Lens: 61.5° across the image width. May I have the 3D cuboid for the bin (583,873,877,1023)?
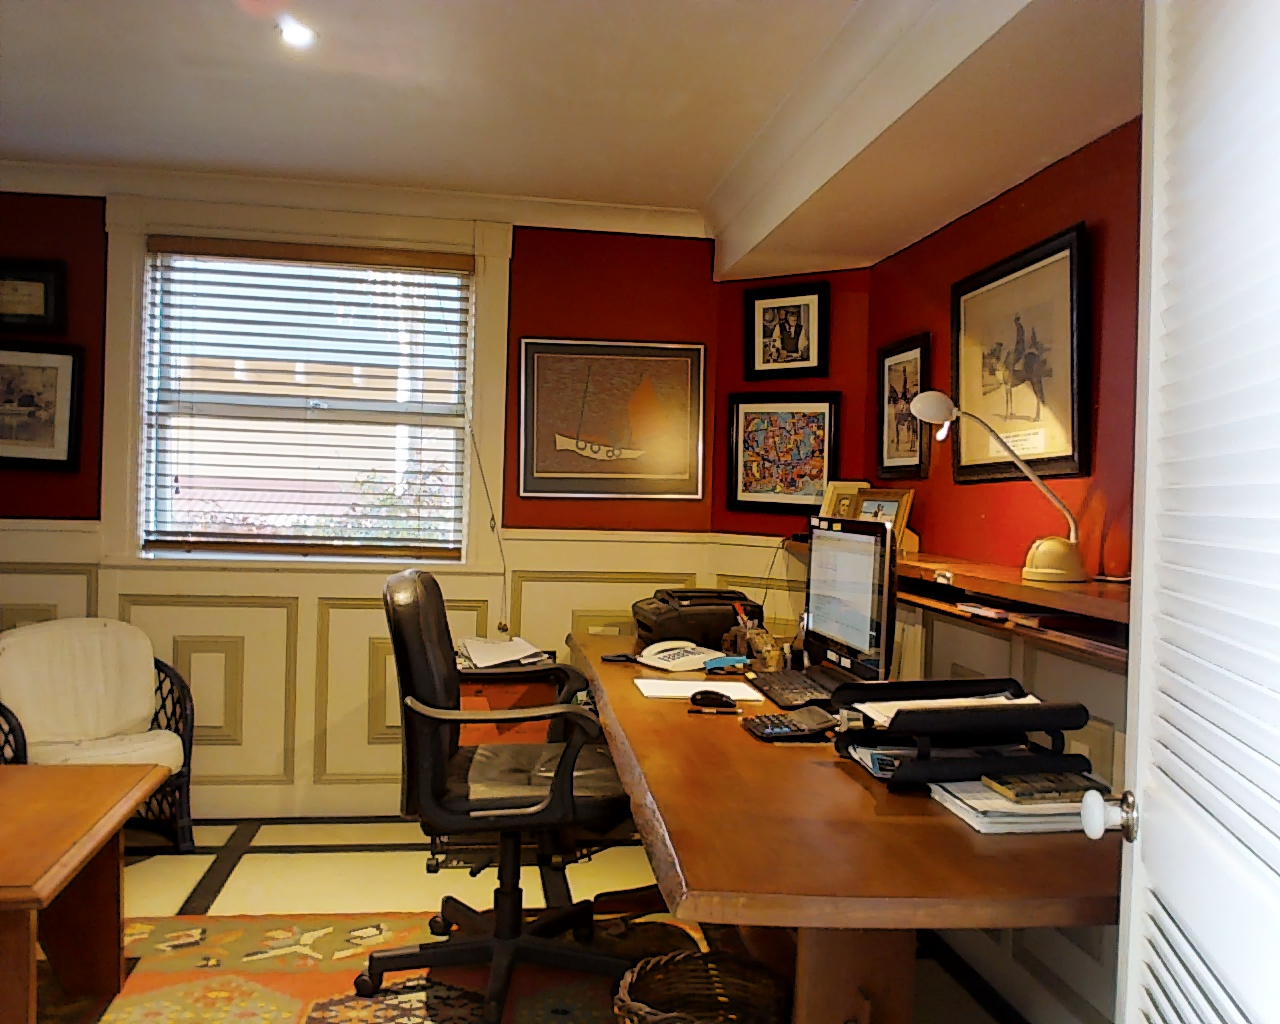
[{"bbox_3d":[0.160,1.030,2.230,0.450,0.360,0.510,2,1,-15],"label":"bin"}]
